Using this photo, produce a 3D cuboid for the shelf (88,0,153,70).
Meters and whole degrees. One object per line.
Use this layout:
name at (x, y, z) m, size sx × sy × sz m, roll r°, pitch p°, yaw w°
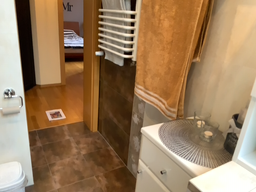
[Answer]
shelf at (-0.090, -0.750, 1.650) m, size 0.160 × 0.920 × 0.710 m, roll -9°, pitch 26°, yaw -31°
